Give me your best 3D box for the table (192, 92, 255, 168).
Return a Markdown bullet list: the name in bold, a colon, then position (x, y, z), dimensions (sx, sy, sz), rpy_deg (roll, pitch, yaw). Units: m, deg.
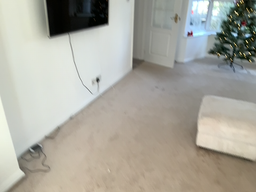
- **table**: position (1.060, 0.320, 2.270), dimensions (0.600, 0.430, 0.580), rpy_deg (11, 28, 17)
